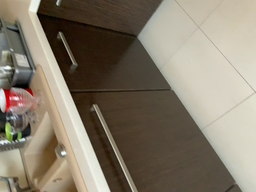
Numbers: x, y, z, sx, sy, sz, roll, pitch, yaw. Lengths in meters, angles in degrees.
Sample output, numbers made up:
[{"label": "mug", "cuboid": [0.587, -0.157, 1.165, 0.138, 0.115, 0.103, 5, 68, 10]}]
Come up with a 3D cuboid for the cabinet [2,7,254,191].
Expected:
[{"label": "cabinet", "cuboid": [0.050, 0.420, 1.090, 0.570, 0.860, 1.660, -47, 60, 36]}]

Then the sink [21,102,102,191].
[{"label": "sink", "cuboid": [-0.320, 0.240, 0.950, 0.440, 0.150, 0.200, -47, 60, 36]}]
